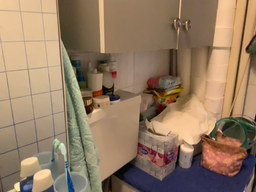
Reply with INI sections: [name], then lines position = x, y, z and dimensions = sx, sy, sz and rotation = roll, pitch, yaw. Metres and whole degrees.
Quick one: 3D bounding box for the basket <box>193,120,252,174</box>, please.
[basket]
position = 0.490, 0.250, 1.100
dimensions = 0.240, 0.140, 0.180
rotation = -15, 22, -41
